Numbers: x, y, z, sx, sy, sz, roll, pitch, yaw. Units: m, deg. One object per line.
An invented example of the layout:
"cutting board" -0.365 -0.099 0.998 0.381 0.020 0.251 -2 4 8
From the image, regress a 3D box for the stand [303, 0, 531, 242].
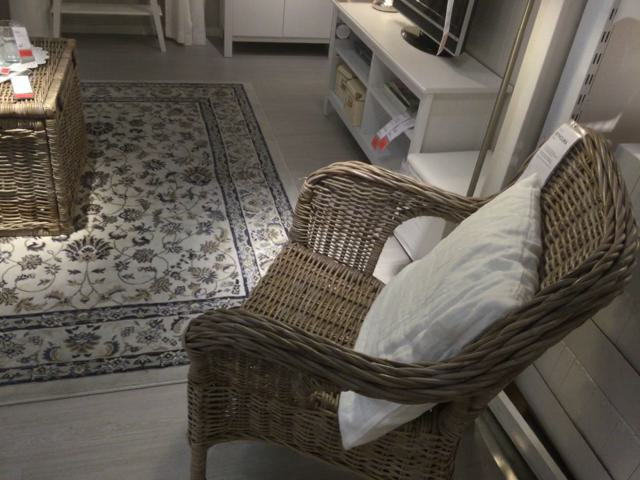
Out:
"stand" 0.320 -0.630 2.610 0.430 0.670 1.220 -3 36 -17

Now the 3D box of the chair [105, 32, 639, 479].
"chair" 0.100 0.130 1.280 0.790 0.850 0.710 11 35 3

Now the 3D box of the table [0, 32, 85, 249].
"table" -1.180 -0.390 2.120 0.520 0.520 0.730 -3 36 -17
